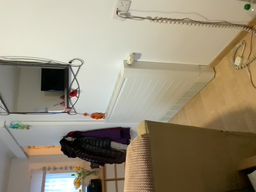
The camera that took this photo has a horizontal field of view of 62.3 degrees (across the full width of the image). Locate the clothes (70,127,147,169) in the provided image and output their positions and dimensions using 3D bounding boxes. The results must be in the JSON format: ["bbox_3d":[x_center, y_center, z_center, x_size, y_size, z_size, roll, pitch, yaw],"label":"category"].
[{"bbox_3d":[-0.350,0.800,3.190,0.790,1.010,0.430,121,147,-62],"label":"clothes"}]
